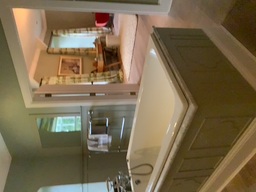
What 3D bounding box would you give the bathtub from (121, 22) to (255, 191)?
[{"bbox_3d":[0.390,0.400,2.070,0.900,0.610,1.890,-103,16,-45],"label":"bathtub"}]
